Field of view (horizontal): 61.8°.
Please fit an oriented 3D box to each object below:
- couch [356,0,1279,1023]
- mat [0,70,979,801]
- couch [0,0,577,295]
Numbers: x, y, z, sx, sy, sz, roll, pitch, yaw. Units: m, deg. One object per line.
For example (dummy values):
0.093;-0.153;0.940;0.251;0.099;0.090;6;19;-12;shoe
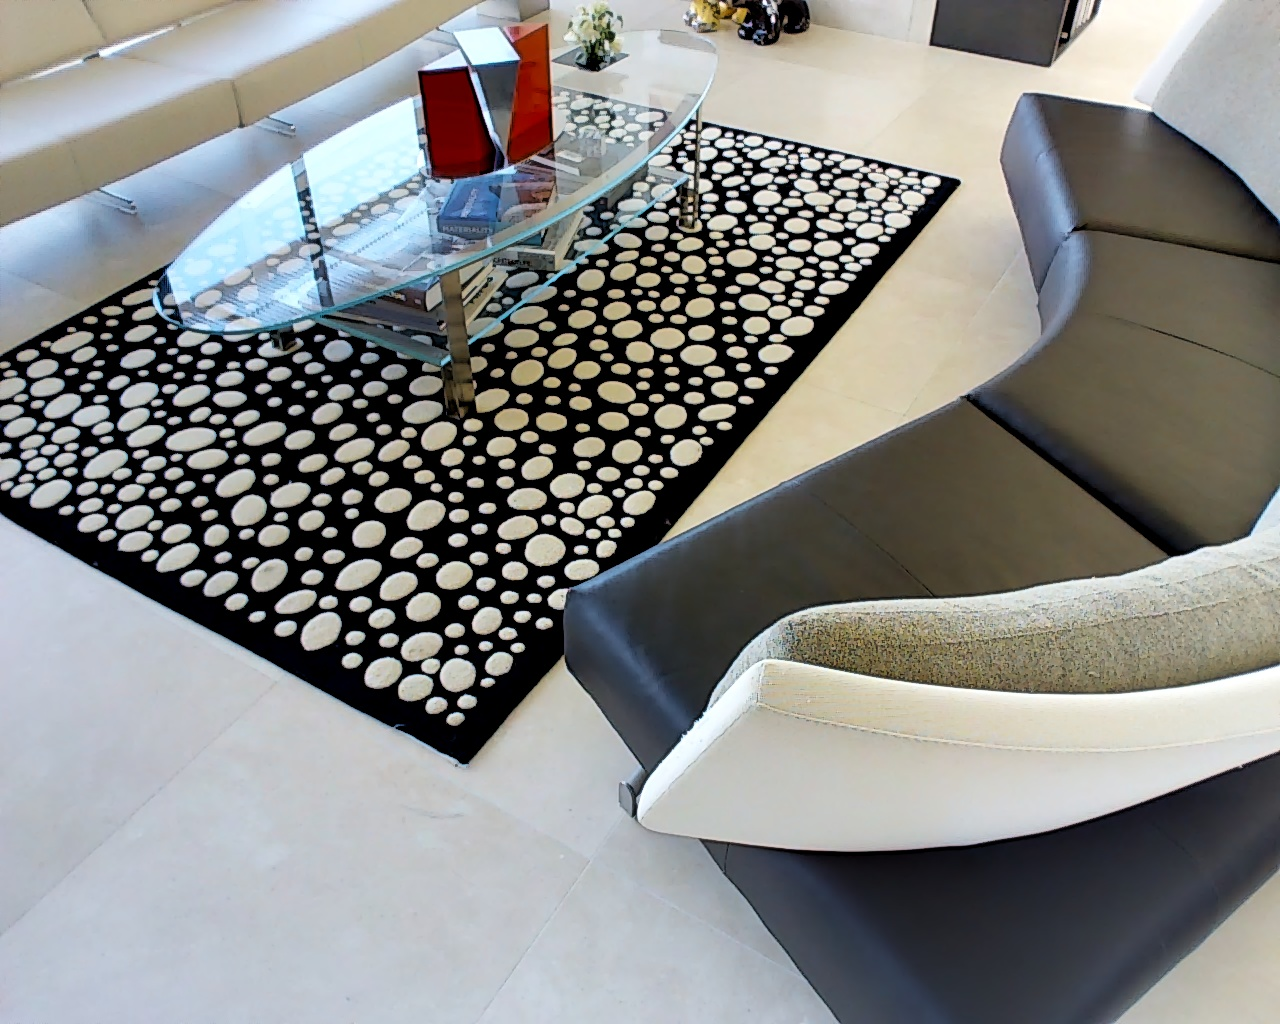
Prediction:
1.100;-0.330;2.130;1.400;0.770;3.100;22;45;23;couch
-0.400;-0.640;3.050;1.870;0.100;2.780;22;45;23;mat
-1.600;-1.520;3.520;0.850;0.630;3.660;22;45;23;couch
